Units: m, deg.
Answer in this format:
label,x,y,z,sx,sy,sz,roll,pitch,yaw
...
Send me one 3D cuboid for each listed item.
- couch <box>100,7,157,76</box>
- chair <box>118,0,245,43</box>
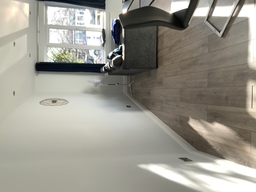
label,x,y,z,sx,sy,sz,roll,pitch,yaw
couch,-0.130,-1.080,4.970,2.350,0.820,1.060,-170,80,-77
chair,0.470,-0.900,2.020,0.470,1.020,0.550,-104,19,-45
